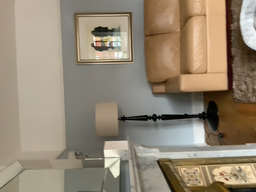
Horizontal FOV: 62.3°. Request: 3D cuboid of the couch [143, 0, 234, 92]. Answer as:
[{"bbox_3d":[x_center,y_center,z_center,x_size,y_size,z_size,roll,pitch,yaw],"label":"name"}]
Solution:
[{"bbox_3d":[0.660,-0.850,2.680,0.990,0.820,1.570,-133,41,-88],"label":"couch"}]
